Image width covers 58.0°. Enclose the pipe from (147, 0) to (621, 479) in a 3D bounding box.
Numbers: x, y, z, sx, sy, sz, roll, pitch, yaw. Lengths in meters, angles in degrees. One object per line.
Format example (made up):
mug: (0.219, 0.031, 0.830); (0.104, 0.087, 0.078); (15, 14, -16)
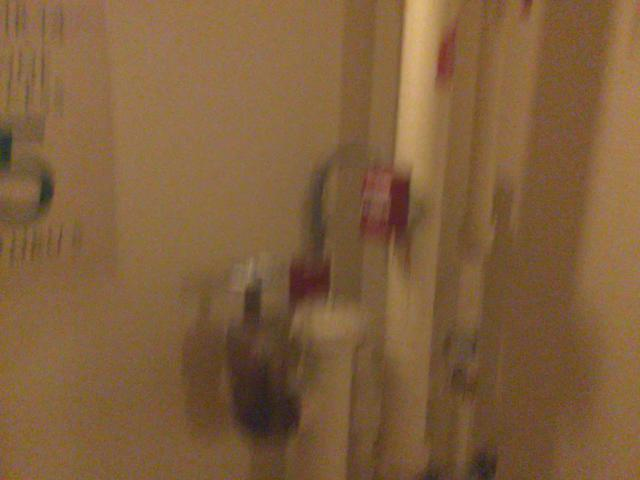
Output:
pipe: (0.180, -0.350, 1.250); (0.600, 2.920, 0.860); (6, 10, 44)
